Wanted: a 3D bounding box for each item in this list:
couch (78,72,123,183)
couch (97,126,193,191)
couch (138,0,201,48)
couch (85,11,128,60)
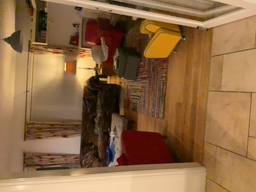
[{"bbox_3d":[-0.750,0.710,5.360,1.190,0.770,2.450,-176,90,-72],"label":"couch"},{"bbox_3d":[0.120,0.900,2.570,0.780,0.820,0.720,-116,33,-55],"label":"couch"},{"bbox_3d":[0.450,-0.980,2.470,0.490,0.480,0.630,141,128,-66],"label":"couch"},{"bbox_3d":[-0.540,-1.420,4.980,0.780,0.790,0.790,-111,30,-52],"label":"couch"}]
